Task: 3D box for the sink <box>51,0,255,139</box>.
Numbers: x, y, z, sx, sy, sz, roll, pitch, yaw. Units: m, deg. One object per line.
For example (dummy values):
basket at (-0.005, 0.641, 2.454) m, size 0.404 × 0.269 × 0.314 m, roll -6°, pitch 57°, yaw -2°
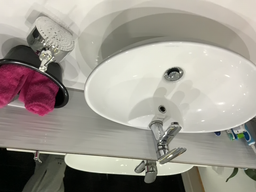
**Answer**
sink at (0.090, -0.050, 0.680) m, size 0.590 × 0.140 × 0.370 m, roll 10°, pitch 136°, yaw -17°
